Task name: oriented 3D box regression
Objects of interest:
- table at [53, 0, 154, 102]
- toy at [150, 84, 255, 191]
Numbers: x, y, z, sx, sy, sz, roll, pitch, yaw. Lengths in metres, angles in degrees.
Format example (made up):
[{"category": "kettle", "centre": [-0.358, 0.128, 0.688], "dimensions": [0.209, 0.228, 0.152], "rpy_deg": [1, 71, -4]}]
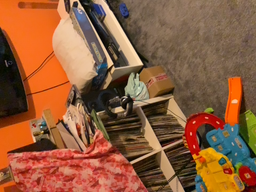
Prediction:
[{"category": "table", "centre": [-0.300, -0.590, 2.120], "dimensions": [1.140, 0.440, 0.490], "rpy_deg": [62, 144, 18]}, {"category": "toy", "centre": [0.600, 0.400, 1.310], "dimensions": [0.700, 0.460, 0.520], "rpy_deg": [62, 144, 17]}]
